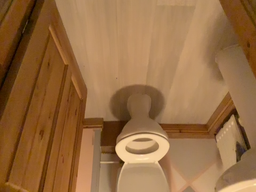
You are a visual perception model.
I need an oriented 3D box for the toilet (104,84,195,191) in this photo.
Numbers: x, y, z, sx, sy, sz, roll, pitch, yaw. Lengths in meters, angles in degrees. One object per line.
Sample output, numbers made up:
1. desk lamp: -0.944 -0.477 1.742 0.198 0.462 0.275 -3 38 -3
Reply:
1. toilet: 0.110 0.450 1.550 0.470 0.810 0.700 -1 146 0
